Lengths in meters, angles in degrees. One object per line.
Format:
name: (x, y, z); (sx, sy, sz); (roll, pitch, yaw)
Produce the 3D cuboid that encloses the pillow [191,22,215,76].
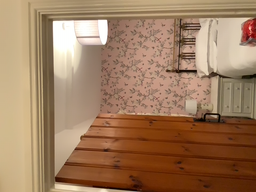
pillow: (1.200, -0.730, 3.430); (0.440, 0.270, 0.780); (-5, -84, -82)
